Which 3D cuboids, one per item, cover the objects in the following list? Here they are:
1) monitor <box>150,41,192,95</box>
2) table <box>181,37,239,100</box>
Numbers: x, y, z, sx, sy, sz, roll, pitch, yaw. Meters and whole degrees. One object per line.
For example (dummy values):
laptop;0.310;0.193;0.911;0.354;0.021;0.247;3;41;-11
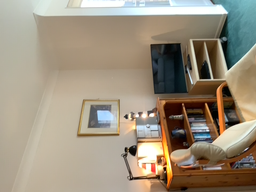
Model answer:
monitor;0.550;-0.380;2.770;0.060;0.450;0.740;93;175;-69
table;1.010;-0.350;2.720;0.420;0.450;0.660;92;176;-63
